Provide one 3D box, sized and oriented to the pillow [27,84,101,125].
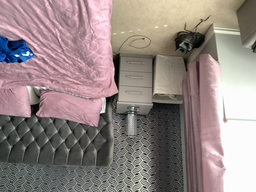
[{"bbox_3d":[-0.630,0.110,2.250,0.650,0.290,0.420,3,161,-3],"label":"pillow"}]
